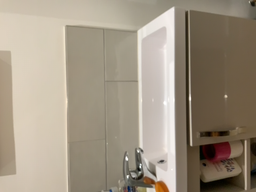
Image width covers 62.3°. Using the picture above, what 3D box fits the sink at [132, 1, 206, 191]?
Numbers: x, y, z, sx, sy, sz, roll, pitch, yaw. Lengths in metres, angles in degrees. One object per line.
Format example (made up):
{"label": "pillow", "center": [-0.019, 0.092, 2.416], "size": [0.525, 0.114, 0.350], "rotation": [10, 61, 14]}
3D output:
{"label": "sink", "center": [0.130, 0.040, 0.740], "size": [0.240, 0.130, 0.620], "rotation": [180, 88, -68]}
